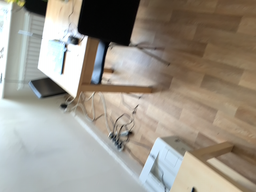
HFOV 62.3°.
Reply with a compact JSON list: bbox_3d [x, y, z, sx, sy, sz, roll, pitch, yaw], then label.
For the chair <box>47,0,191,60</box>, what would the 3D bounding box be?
[{"bbox_3d":[-0.040,-0.550,1.490,0.450,0.850,0.400,27,109,45],"label":"chair"}]
